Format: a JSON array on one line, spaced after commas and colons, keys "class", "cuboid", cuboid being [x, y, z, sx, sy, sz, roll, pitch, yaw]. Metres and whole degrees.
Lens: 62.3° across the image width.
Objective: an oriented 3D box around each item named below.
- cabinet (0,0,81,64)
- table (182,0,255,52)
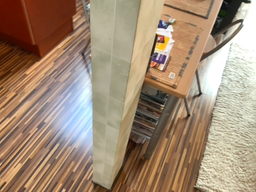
[{"class": "cabinet", "cuboid": [-0.850, -0.910, 1.760, 0.600, 0.930, 0.640, 24, 51, 10]}, {"class": "table", "cuboid": [1.120, -1.110, 2.520, 0.540, 0.520, 1.070, 24, 51, 10]}]
